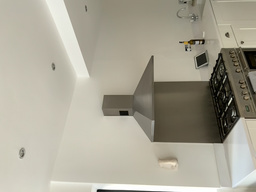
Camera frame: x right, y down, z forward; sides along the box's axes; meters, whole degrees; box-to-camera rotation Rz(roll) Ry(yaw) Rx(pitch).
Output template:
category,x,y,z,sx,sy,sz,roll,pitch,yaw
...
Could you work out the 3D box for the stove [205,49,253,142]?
category,x,y,z,sx,sy,sz,roll,pitch,yaw
stove,1.100,-0.010,2.420,0.610,0.160,0.870,83,-171,-54
